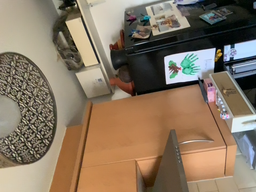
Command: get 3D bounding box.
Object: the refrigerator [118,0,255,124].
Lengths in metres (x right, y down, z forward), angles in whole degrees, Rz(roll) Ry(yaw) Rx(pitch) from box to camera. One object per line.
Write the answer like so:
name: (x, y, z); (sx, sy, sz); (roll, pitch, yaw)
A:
refrigerator: (0.890, -0.410, 1.550); (0.660, 1.790, 0.670); (-91, -13, -50)
